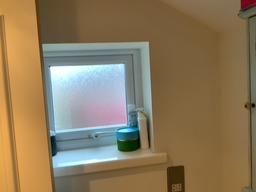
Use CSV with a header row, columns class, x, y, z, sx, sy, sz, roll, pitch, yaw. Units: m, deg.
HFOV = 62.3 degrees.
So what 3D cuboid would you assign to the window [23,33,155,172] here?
class,x,y,z,sx,sy,sz,roll,pitch,yaw
window,-0.180,0.010,1.100,0.560,0.600,0.250,-4,5,-13
